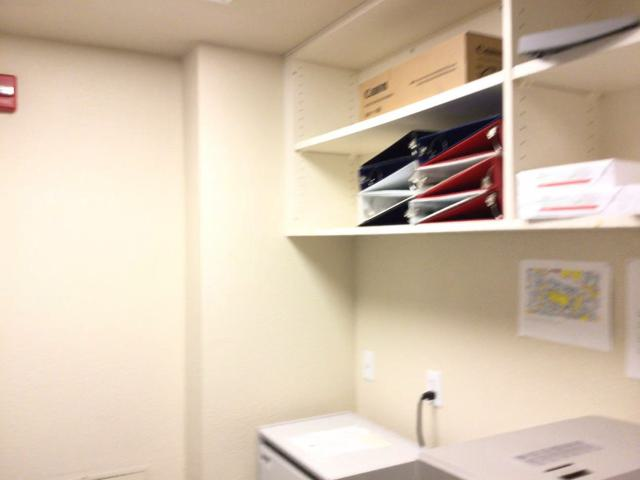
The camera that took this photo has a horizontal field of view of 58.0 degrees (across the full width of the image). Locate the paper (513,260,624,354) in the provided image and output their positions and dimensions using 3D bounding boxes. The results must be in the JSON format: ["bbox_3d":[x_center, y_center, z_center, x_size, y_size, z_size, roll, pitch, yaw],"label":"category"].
[{"bbox_3d":[0.620,0.160,1.470,0.030,0.210,0.300,5,-3,-27],"label":"paper"}]
